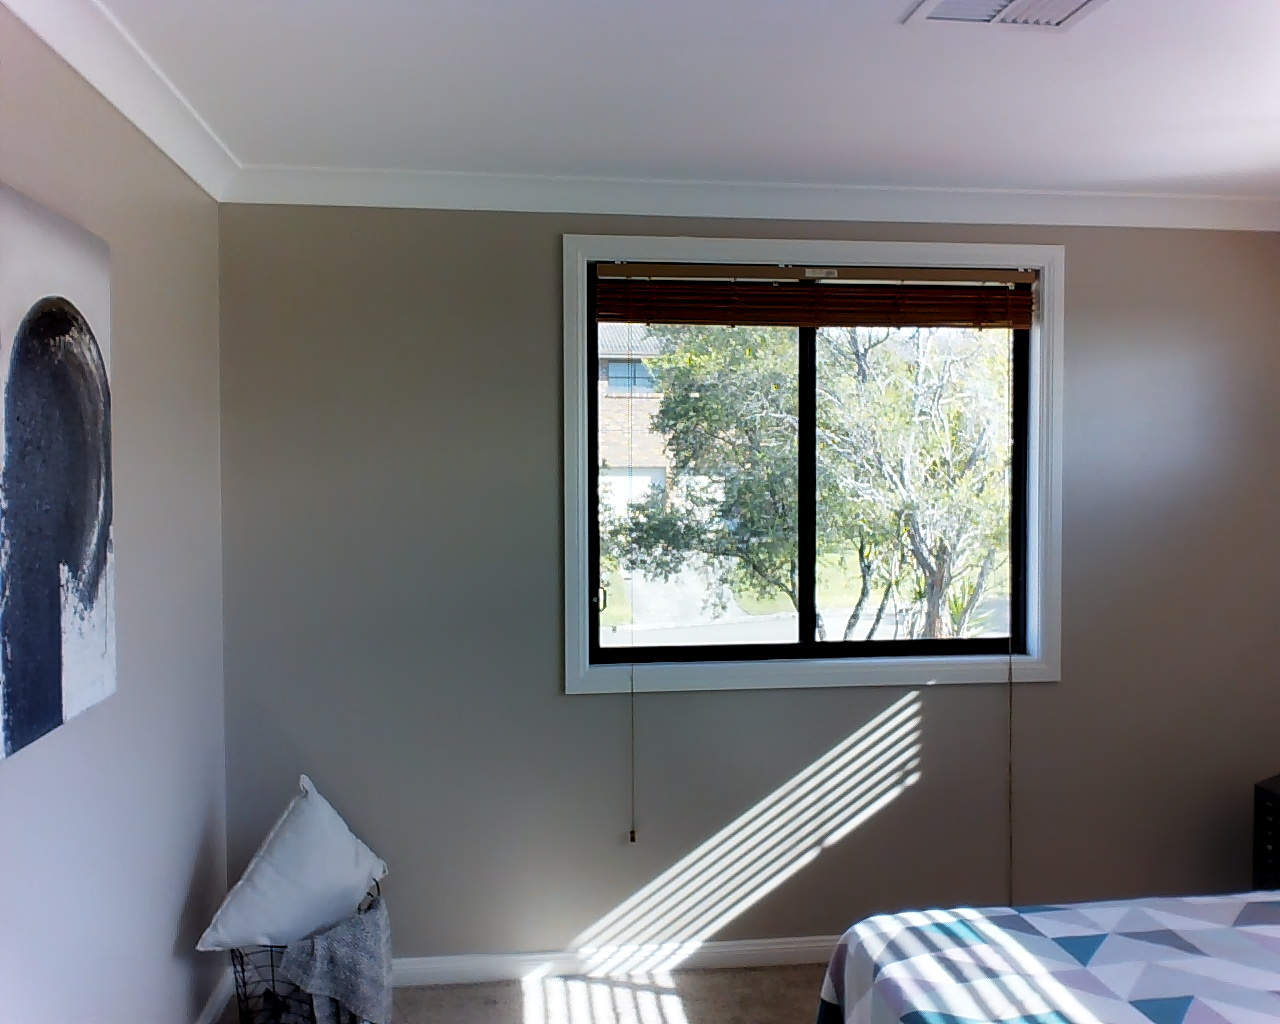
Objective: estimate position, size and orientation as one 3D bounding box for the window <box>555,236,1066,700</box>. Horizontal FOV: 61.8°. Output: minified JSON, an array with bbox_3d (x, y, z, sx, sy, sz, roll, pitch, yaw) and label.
[{"bbox_3d":[0.540,-0.130,3.360,1.600,1.380,0.150,0,2,-7],"label":"window"}]

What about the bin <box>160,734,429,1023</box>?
[{"bbox_3d":[-0.890,1.040,2.880,0.580,0.740,0.570,0,2,-6],"label":"bin"}]
